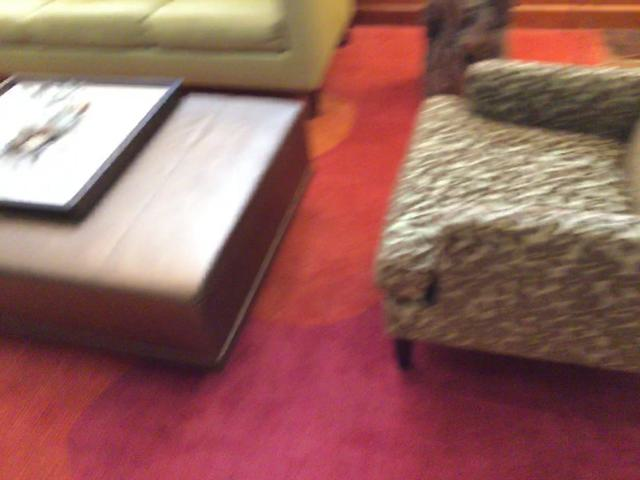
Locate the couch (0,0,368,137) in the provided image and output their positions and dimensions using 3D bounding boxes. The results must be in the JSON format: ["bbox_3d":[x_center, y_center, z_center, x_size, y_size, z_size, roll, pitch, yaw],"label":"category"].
[{"bbox_3d":[-0.900,-1.320,2.760,2.110,1.010,1.020,9,44,12],"label":"couch"}]

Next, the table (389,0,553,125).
[{"bbox_3d":[0.620,-0.910,2.380,0.500,0.620,0.460,14,44,7],"label":"table"}]
